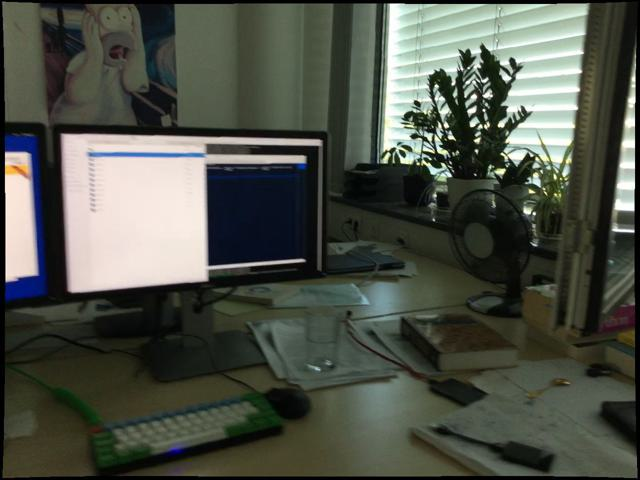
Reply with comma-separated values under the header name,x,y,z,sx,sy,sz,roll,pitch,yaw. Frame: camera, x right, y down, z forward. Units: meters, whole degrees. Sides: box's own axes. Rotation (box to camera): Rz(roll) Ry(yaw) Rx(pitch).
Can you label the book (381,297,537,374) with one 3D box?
name,x,y,z,sx,sy,sz,roll,pitch,yaw
book,0.310,0.210,1.340,0.220,0.050,0.290,-6,13,-23
